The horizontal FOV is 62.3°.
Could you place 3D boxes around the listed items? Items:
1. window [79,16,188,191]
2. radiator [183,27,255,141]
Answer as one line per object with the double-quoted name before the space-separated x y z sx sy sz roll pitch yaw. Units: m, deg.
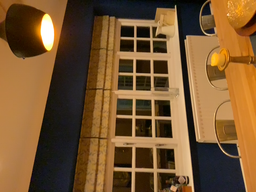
"window" 0.090 0.050 3.170 0.280 1.280 3.050 96 176 -63
"radiator" 1.150 -0.230 2.830 0.150 0.670 1.610 96 176 -65
